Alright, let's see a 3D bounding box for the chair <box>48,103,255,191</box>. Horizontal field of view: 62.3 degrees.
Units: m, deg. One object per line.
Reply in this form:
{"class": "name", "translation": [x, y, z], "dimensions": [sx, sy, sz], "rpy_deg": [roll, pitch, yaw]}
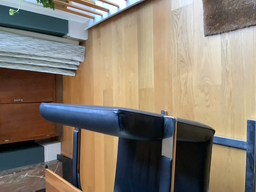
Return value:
{"class": "chair", "translation": [0.140, 0.330, 0.980], "dimensions": [0.560, 0.790, 0.560], "rpy_deg": [-2, 90, 48]}
